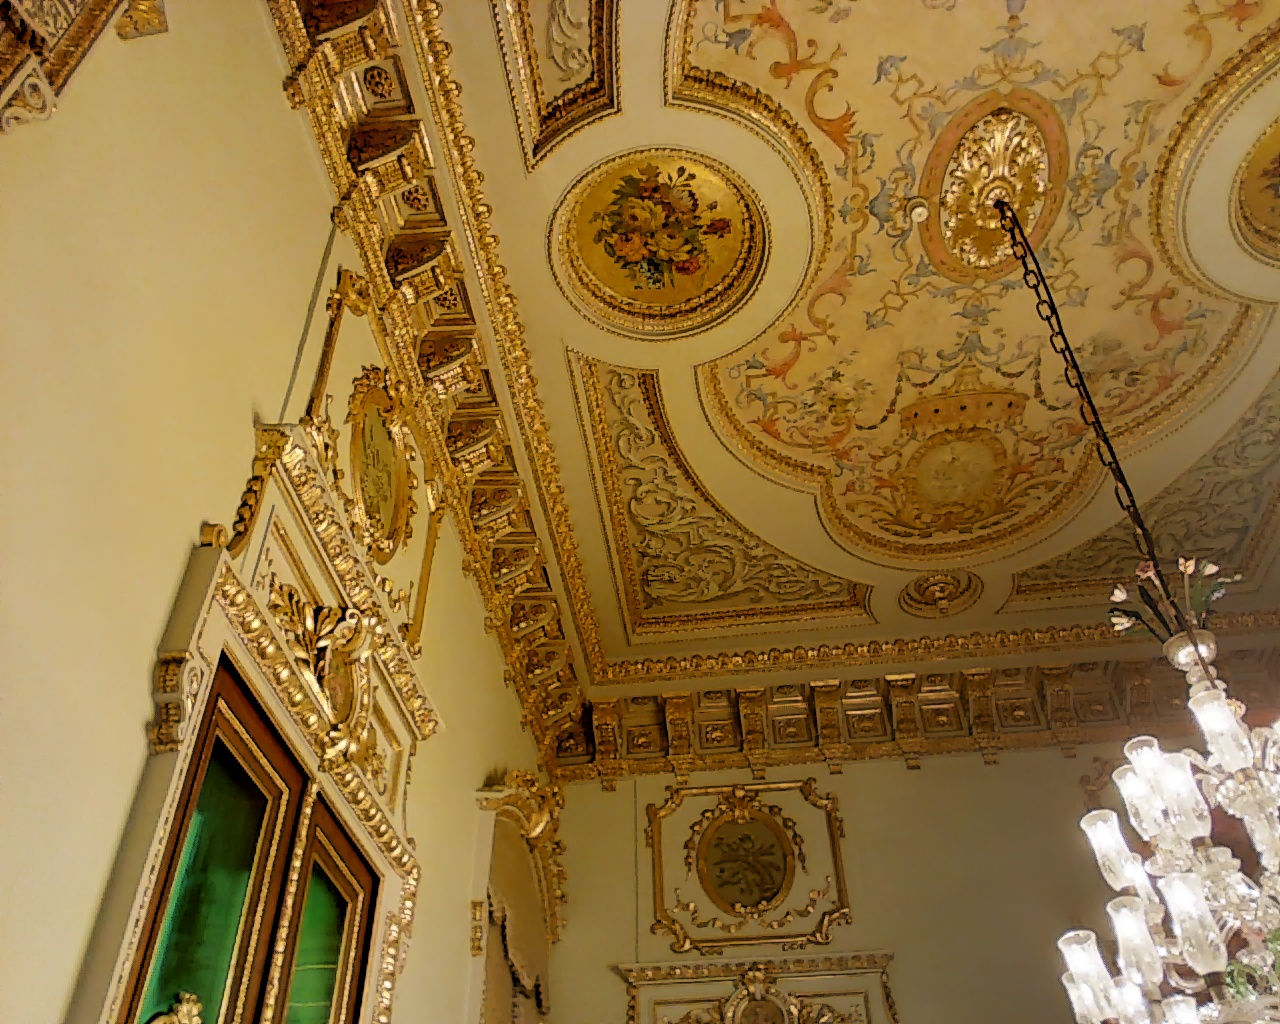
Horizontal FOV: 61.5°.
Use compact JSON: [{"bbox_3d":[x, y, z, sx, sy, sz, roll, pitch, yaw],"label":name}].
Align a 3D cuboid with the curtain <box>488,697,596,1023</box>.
[{"bbox_3d":[-0.490,3.282,5.430,0.150,4.222,1.971,-6,-42,5],"label":"curtain"}]
